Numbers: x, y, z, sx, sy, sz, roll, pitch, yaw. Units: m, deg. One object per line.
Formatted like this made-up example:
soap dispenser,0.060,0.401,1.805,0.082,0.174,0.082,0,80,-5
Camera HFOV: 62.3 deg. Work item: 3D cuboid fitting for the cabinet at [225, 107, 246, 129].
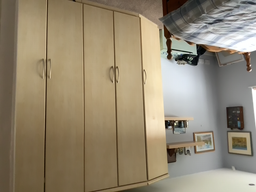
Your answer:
cabinet,2.050,0.430,4.070,0.060,0.410,0.360,2,172,-27

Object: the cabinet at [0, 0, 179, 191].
cabinet,-0.430,0.020,2.760,2.110,2.280,0.690,2,173,-29
